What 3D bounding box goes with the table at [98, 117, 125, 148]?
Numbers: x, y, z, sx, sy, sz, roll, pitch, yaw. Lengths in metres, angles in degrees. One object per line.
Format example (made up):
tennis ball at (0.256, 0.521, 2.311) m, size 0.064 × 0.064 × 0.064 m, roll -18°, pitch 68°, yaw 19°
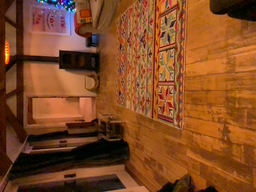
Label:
table at (-0.360, 0.690, 4.250) m, size 0.900 × 0.310 × 0.430 m, roll -173°, pitch 84°, yaw -70°
